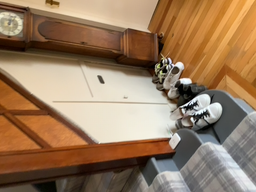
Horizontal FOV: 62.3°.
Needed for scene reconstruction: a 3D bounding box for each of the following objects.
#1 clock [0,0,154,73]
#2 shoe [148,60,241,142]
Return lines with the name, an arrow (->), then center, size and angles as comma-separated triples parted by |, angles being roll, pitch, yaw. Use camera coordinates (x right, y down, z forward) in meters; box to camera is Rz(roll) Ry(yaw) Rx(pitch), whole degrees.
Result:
clock -> -0.470, -0.470, 1.750 | 0.350, 1.370, 0.280 | -51, 46, 46
shoe -> 0.420, 0.030, 1.440 | 0.390, 0.310, 0.360 | 59, 136, 43
